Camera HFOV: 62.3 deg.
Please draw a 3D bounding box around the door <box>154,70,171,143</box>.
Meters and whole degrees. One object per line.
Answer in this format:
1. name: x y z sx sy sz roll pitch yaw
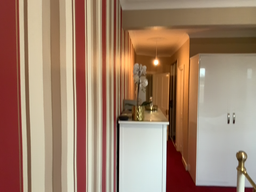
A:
1. door: 1.010 0.290 6.330 0.090 2.060 0.770 -1 4 -20
